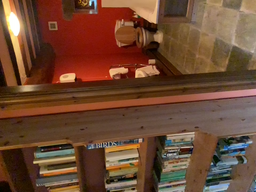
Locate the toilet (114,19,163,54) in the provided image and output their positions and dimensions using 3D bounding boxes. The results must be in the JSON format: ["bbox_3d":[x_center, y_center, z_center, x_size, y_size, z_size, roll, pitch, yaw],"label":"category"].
[{"bbox_3d":[0.170,-1.170,4.120,0.550,0.810,0.520,-113,21,-57],"label":"toilet"}]
